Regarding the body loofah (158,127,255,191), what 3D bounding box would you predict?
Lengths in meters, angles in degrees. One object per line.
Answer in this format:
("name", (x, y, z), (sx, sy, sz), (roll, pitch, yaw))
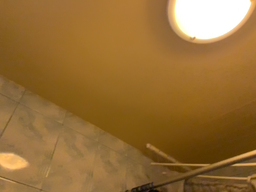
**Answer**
("body loofah", (0.580, 0.620, 1.250), (0.430, 0.520, 0.660), (32, -50, -27))
